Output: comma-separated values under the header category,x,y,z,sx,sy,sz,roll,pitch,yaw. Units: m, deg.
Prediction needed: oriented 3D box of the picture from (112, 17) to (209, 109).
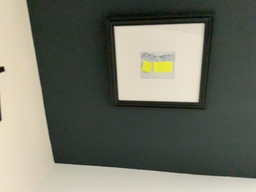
category,x,y,z,sx,sy,sz,roll,pitch,yaw
picture,0.220,-0.220,1.540,0.630,0.640,0.070,1,-160,6
